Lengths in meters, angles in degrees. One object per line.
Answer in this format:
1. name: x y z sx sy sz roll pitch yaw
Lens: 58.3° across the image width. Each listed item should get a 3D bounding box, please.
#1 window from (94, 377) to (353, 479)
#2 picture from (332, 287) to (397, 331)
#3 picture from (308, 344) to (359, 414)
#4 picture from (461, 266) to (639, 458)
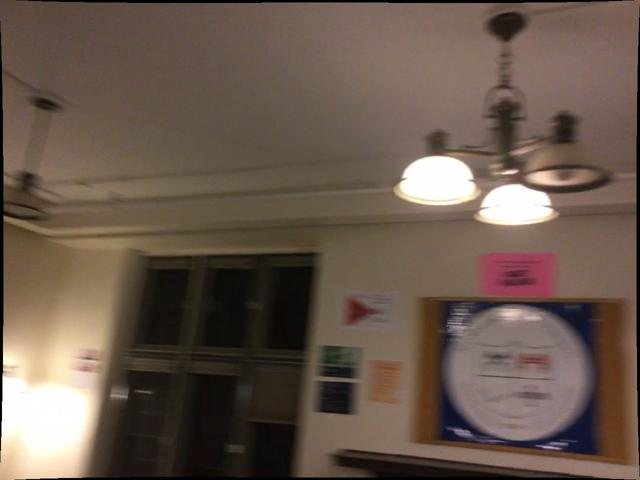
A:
1. window: -0.779 1.611 4.380 2.029 1.011 0.330 -4 -17 23
2. picture: 0.290 0.450 3.730 0.400 0.260 0.110 -4 -17 23
3. picture: 0.090 0.891 3.700 0.300 0.420 0.090 -4 -17 23
4. picture: 1.349 0.661 3.110 1.079 0.951 0.130 -8 -19 26
